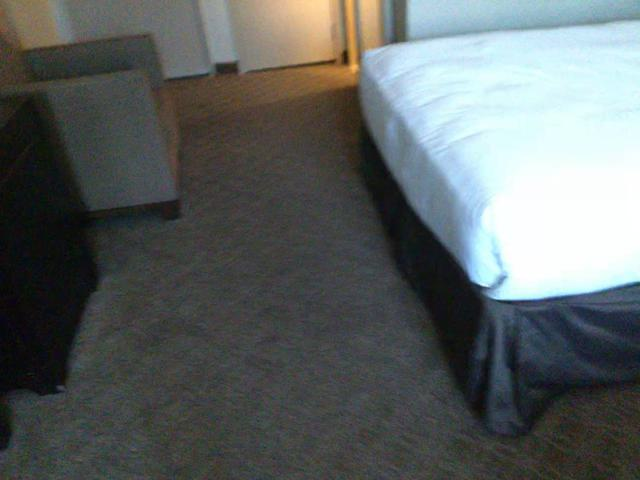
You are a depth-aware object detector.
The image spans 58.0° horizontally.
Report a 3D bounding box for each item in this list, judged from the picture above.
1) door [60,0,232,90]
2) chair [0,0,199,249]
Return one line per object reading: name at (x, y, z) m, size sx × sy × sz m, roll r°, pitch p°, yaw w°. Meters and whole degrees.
door at (-1.330, -2.150, 4.000) m, size 1.100 × 2.050 × 0.250 m, roll -8°, pitch 32°, yaw -4°
chair at (-1.110, -0.580, 2.740) m, size 0.880 × 0.820 × 0.820 m, roll -8°, pitch 32°, yaw -4°
